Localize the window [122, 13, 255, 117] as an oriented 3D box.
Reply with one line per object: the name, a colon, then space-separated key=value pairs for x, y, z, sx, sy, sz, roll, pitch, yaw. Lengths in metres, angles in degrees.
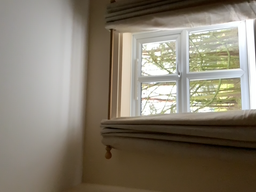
window: x=0.480 y=-0.240 z=1.890 sx=0.080 sy=1.110 sz=0.830 roll=15 pitch=-105 yaw=-69

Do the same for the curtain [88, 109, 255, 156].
curtain: x=0.420 y=0.230 z=1.450 sx=0.220 sy=1.440 sz=0.260 roll=19 pitch=-109 yaw=-69
